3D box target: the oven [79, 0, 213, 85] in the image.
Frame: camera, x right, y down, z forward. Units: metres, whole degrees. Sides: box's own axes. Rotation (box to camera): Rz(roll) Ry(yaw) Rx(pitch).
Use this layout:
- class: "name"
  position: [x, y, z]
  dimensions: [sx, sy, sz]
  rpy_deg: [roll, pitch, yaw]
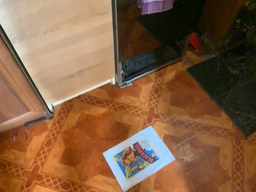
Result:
- class: "oven"
  position: [0.060, -0.570, 1.220]
  dimensions: [0.530, 0.650, 0.600]
  rpy_deg: [-25, 61, -16]
